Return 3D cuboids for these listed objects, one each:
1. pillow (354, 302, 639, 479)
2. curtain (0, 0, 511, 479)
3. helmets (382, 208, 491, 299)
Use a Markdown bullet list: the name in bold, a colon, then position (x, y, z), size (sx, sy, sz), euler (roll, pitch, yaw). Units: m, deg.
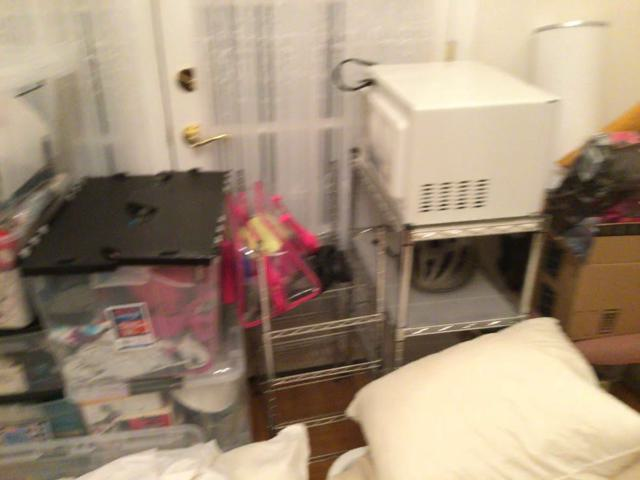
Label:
- **pillow**: position (0.380, 0.350, 1.130), size (0.540, 0.230, 0.380), euler (-7, 23, -11)
- **curtain**: position (-0.360, -0.120, 1.560), size (1.620, 1.520, 0.360), euler (-7, 23, -11)
- **helmets**: position (0.310, 0.030, 1.600), size (0.210, 0.140, 0.250), euler (-7, 23, -11)
